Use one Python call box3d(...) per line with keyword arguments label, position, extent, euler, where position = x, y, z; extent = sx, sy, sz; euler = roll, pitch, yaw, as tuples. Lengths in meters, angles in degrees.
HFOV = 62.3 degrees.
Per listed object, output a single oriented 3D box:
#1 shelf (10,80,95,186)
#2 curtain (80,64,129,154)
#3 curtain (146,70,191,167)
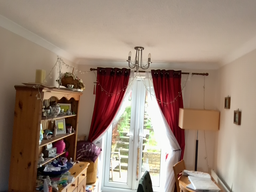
box3d(label="shelf", position=(-0.860, 0.370, 2.800), extent=(0.400, 1.010, 1.450), euler=(4, -1, 6))
box3d(label="curtain", position=(-0.400, 0.220, 3.690), extent=(0.720, 1.440, 0.320), euler=(4, -1, -4))
box3d(label="curtain", position=(0.660, 0.360, 3.550), extent=(0.620, 1.550, 0.190), euler=(4, -1, 5))
